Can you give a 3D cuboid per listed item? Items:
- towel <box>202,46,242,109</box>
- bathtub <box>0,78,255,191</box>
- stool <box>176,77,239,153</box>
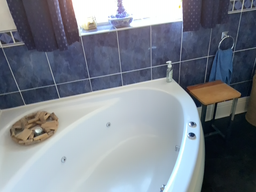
[{"bbox_3d":[0.820,-0.150,1.890,0.230,0.540,0.100,-11,32,-10],"label":"towel"},{"bbox_3d":[-0.100,0.550,1.240,1.340,0.560,1.370,-11,33,-11],"label":"bathtub"},{"bbox_3d":[0.650,0.160,1.820,0.340,0.510,0.290,-11,33,-11],"label":"stool"}]
